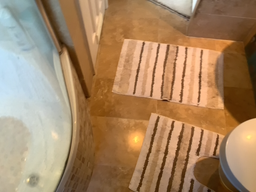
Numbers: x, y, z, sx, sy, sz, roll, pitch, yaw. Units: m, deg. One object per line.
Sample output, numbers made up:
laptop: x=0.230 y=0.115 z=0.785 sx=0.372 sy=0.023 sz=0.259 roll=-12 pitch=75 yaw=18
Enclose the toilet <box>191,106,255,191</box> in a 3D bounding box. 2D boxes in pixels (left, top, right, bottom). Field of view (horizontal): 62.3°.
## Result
toilet: x=0.690 y=0.360 z=1.100 sx=0.580 sy=0.460 sz=0.410 roll=6 pitch=65 yaw=2
